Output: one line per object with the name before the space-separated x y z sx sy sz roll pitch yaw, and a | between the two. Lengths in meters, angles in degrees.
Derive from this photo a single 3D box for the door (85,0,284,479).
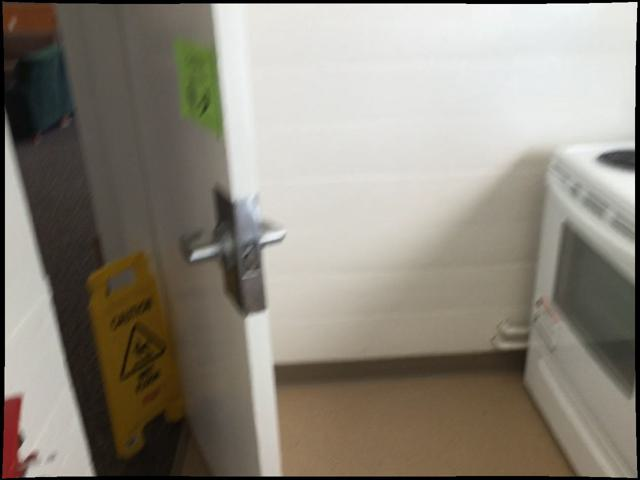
door | -0.319 0.140 1.440 0.120 1.463 0.680 -15 26 -24

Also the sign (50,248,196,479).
sign | -0.618 0.411 1.910 0.279 0.681 0.290 -6 24 -4
